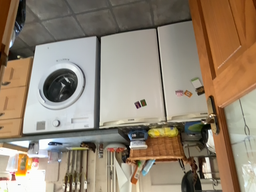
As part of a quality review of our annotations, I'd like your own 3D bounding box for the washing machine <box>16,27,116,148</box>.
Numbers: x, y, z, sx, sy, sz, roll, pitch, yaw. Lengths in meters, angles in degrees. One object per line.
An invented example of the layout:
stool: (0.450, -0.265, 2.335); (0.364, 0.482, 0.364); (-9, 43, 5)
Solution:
washing machine: (-0.500, -0.030, 1.980); (0.620, 0.900, 0.620); (-6, 159, 8)
